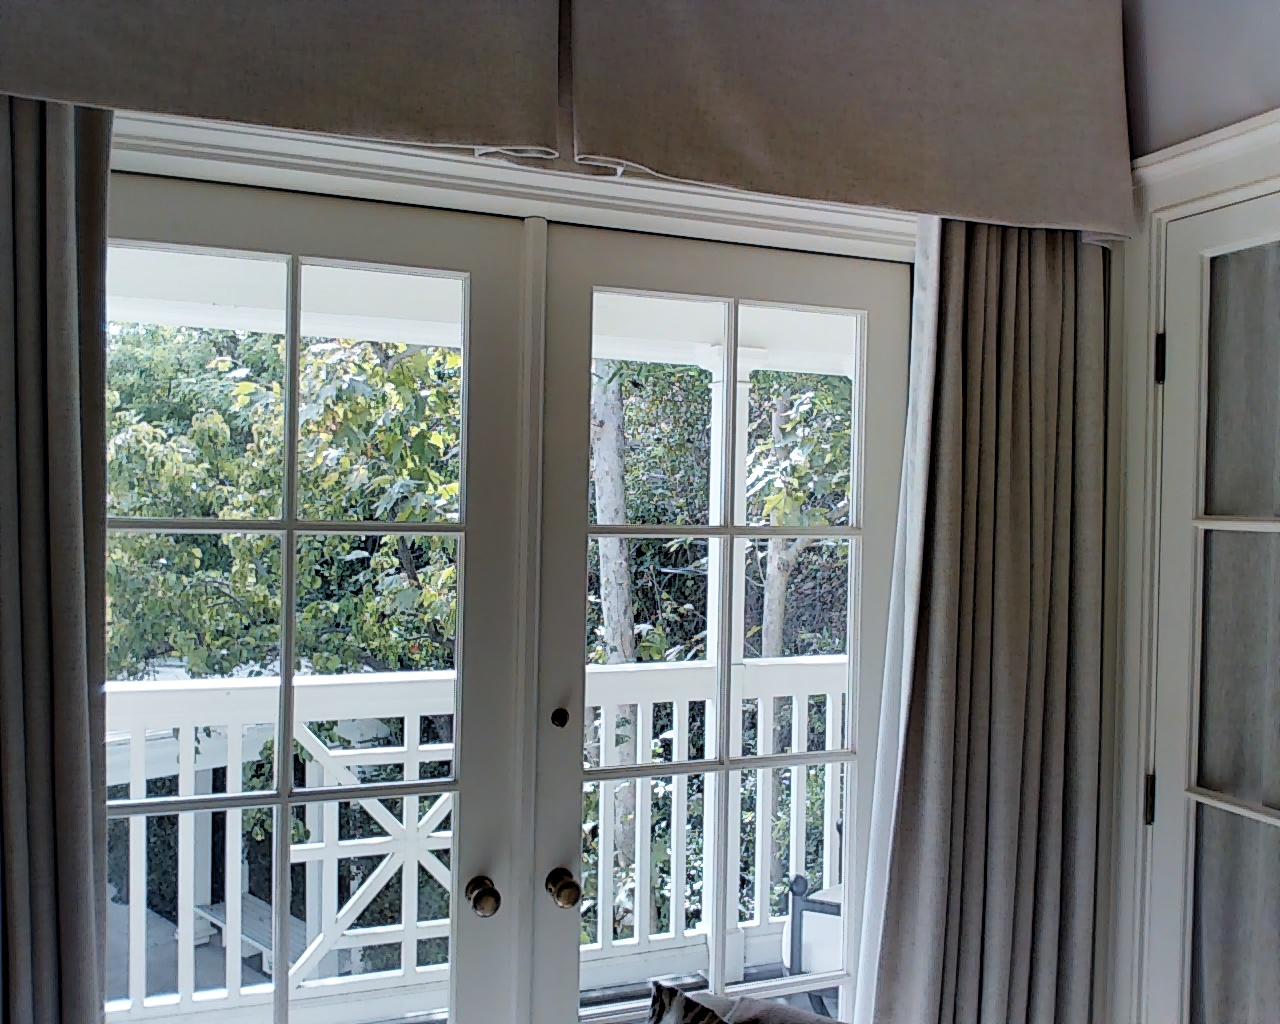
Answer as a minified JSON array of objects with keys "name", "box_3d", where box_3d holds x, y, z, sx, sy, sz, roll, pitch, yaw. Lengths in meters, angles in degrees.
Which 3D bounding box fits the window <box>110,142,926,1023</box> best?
[{"name":"window","box_3d":[-0.130,0.510,1.800,1.350,2.040,0.080,1,1,-21]}]
